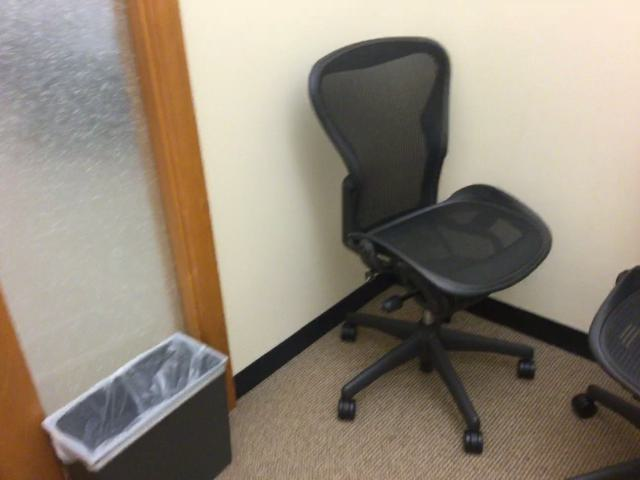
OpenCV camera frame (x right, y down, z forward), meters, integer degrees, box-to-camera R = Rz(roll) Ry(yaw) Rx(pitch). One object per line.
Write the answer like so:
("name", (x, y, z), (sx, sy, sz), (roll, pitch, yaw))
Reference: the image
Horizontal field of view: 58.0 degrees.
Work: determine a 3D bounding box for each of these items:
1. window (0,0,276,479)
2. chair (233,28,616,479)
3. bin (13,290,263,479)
("window", (-0.540, 0.040, 1.430), (0.240, 1.340, 0.820), (18, 32, 38))
("chair", (0.300, -0.040, 1.760), (0.730, 1.060, 0.710), (-24, 32, -38))
("bin", (-0.450, 0.470, 1.540), (0.300, 0.450, 0.480), (18, 32, 38))
